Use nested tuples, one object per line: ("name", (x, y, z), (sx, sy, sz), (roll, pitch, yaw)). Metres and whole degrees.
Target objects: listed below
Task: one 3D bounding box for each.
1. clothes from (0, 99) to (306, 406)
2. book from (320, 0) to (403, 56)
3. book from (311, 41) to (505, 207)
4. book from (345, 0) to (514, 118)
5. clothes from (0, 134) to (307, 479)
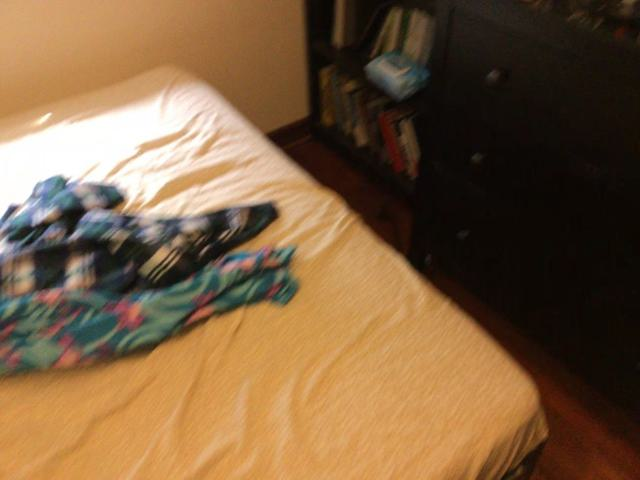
("clothes", (-0.430, -0.040, 1.200), (0.590, 0.120, 0.540), (-28, 49, -25))
("book", (0.150, -0.840, 2.120), (0.210, 0.200, 0.220), (-28, 49, -25))
("book", (0.290, -0.460, 2.160), (0.250, 0.270, 0.740), (-28, 49, -25))
("book", (0.330, -0.650, 1.910), (0.160, 0.230, 0.590), (-28, 49, -25))
("clothes", (-0.630, 0.180, 0.970), (1.110, 0.120, 0.530), (-28, 49, -25))
